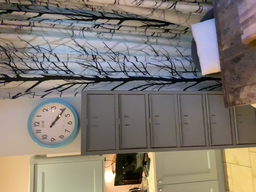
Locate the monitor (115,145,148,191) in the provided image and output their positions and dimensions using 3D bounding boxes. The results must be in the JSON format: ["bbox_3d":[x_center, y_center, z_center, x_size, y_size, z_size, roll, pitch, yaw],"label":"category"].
[{"bbox_3d":[0.030,0.840,2.450,0.040,0.340,0.590,-122,34,-68],"label":"monitor"}]

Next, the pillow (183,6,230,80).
[{"bbox_3d":[0.510,-0.340,1.410,0.210,0.120,0.420,-24,67,57],"label":"pillow"}]
